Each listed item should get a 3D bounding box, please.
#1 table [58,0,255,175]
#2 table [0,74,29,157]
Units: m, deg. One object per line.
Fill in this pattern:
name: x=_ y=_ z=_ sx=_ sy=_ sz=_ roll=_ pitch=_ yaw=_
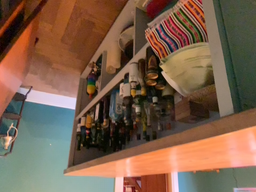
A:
table: x=0.070 y=-0.030 z=1.620 sx=0.620 sy=1.110 sz=2.140 roll=12 pitch=155 yaw=-25
table: x=-1.460 y=0.240 z=2.570 sx=0.300 sy=0.920 sz=0.300 roll=12 pitch=155 yaw=-24
